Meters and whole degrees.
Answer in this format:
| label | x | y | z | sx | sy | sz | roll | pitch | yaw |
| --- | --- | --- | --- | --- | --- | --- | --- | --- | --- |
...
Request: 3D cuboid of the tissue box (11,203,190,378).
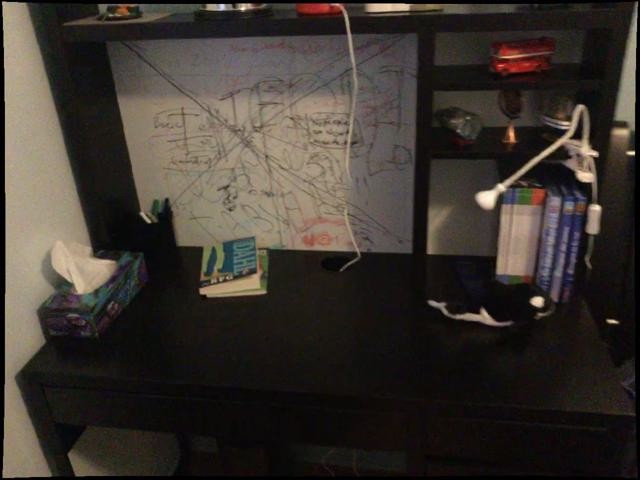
| label | x | y | z | sx | sy | sz | roll | pitch | yaw |
| --- | --- | --- | --- | --- | --- | --- | --- | --- | --- |
| tissue box | -0.440 | 0.090 | 1.230 | 0.180 | 0.210 | 0.340 | 2 | 28 | 9 |
